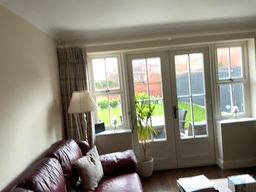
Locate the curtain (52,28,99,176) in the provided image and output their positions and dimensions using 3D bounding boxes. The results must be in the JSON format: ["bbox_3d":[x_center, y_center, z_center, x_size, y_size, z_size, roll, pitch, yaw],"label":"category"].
[{"bbox_3d":[-0.790,0.110,3.290,0.440,2.210,0.170,-5,4,0],"label":"curtain"}]

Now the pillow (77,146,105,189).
[{"bbox_3d":[-0.410,0.800,2.430,0.200,0.340,0.320,-12,4,0],"label":"pillow"}]
